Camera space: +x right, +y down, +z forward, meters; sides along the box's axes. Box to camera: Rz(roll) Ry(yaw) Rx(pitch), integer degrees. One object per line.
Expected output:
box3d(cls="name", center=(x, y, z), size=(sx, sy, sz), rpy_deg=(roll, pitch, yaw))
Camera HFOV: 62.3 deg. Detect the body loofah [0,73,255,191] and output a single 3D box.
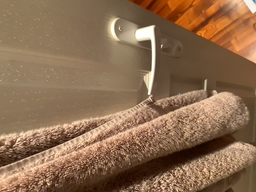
box3d(cls="body loofah", center=(0.080, 0.200, 0.300), size=(0.140, 1.080, 0.410), rpy_deg=(12, 97, 43))
